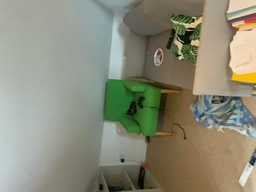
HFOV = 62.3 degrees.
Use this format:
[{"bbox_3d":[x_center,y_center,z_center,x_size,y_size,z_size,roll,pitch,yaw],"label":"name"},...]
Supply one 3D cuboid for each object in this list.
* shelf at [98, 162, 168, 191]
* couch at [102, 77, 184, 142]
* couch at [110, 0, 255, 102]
[{"bbox_3d":[0.210,1.530,2.630,2.130,0.790,0.390,-149,63,-69],"label":"shelf"},{"bbox_3d":[0.150,0.140,2.950,0.850,0.810,0.700,-154,67,-70],"label":"couch"},{"bbox_3d":[0.420,-0.560,2.230,1.820,0.760,0.900,-152,66,-70],"label":"couch"}]
